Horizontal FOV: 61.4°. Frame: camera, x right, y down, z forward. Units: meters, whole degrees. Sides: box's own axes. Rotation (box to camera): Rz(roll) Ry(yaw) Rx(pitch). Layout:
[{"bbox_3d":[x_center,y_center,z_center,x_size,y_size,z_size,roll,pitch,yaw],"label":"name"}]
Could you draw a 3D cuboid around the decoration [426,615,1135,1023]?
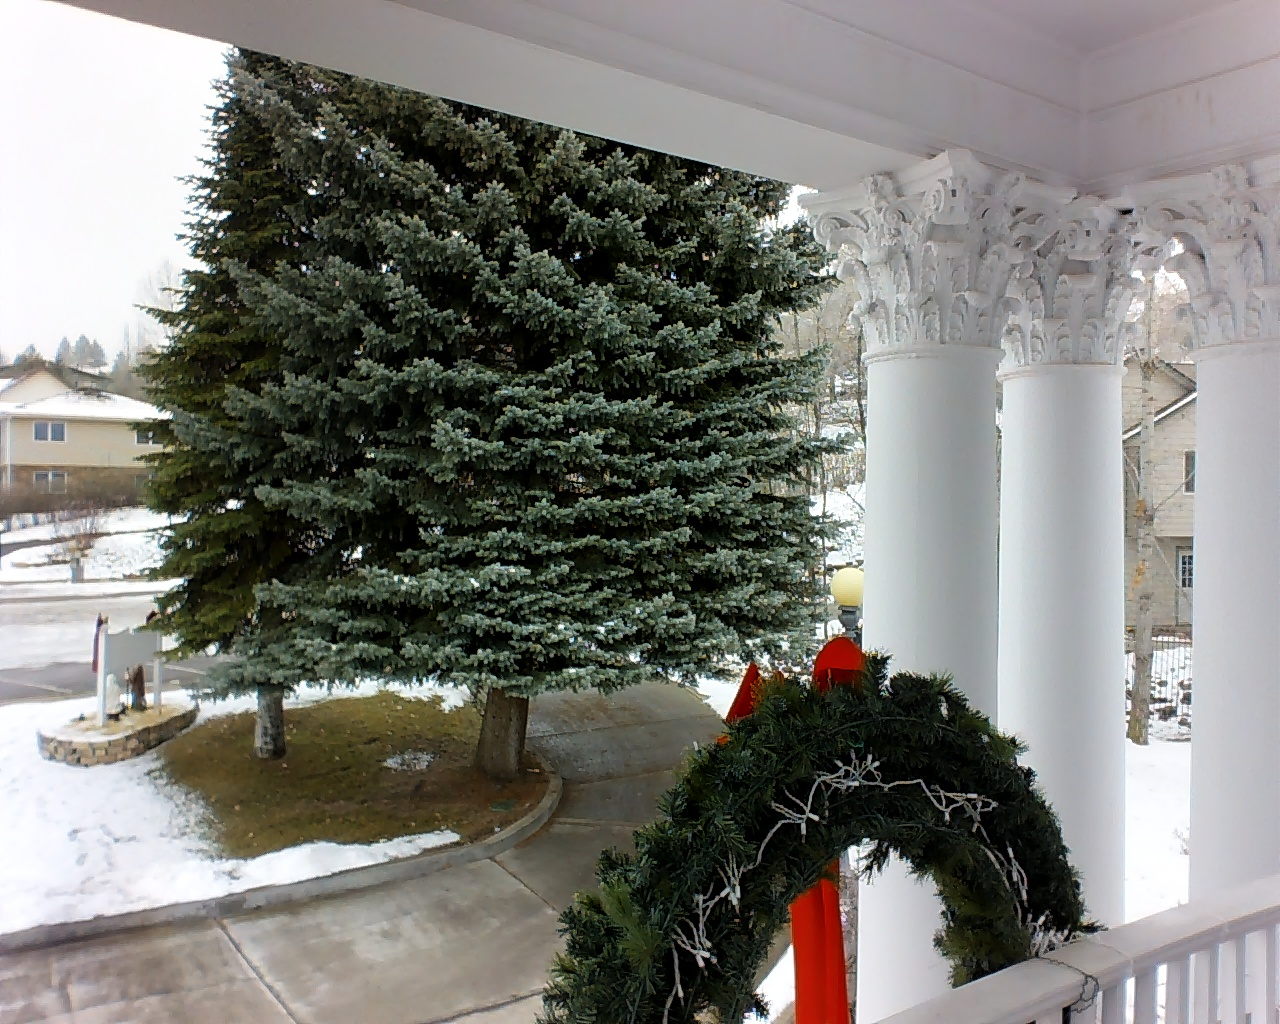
[{"bbox_3d":[0.370,0.840,2.090,1.520,1.170,0.400,0,-1,-37],"label":"decoration"}]
